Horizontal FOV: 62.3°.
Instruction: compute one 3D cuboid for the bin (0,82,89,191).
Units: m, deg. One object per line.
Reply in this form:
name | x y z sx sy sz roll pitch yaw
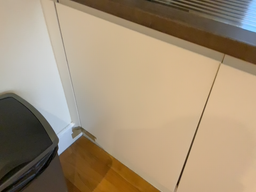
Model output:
bin | -0.390 0.340 0.760 0.270 0.630 0.380 29 50 27
